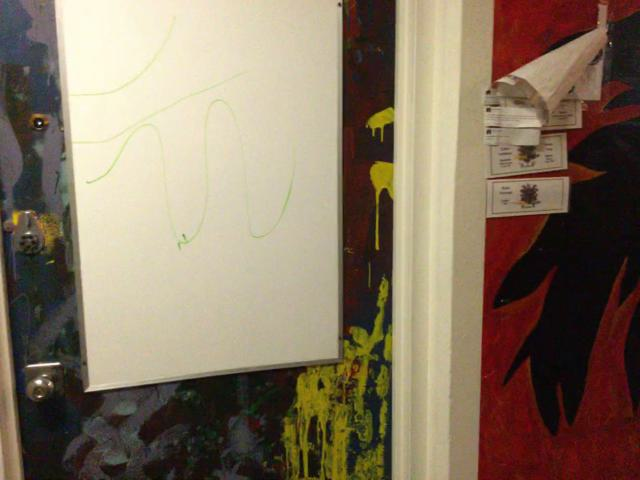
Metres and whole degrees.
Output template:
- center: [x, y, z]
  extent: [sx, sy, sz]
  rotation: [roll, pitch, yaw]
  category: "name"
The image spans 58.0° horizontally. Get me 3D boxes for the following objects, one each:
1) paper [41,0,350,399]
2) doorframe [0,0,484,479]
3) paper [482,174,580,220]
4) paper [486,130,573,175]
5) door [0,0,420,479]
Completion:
- center: [-0.250, -0.110, 1.310]
  extent: [0.610, 0.880, 0.040]
  rotation: [-5, 8, -13]
  category: "paper"
- center: [-0.220, 0.160, 1.250]
  extent: [1.110, 2.210, 0.260]
  rotation: [-5, 8, -13]
  category: "doorframe"
- center: [0.490, -0.100, 1.340]
  extent: [0.240, 0.090, 0.020]
  rotation: [-5, 8, -13]
  category: "paper"
- center: [0.480, -0.200, 1.320]
  extent: [0.210, 0.090, 0.020]
  rotation: [-5, 8, -13]
  category: "paper"
- center: [-0.230, 0.210, 1.330]
  extent: [0.910, 2.080, 0.110]
  rotation: [-5, 8, -13]
  category: "door"
